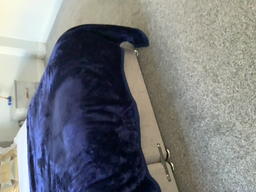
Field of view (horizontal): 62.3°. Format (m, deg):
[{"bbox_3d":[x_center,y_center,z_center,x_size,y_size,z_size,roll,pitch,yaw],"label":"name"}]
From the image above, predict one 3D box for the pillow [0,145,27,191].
[{"bbox_3d":[-1.240,0.760,2.180,0.080,0.300,0.490,-24,79,1],"label":"pillow"}]
